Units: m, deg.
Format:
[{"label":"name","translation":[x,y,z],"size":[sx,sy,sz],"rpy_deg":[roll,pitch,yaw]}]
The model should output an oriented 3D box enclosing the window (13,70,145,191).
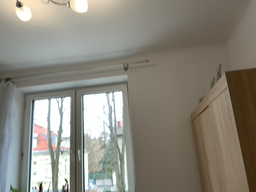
[{"label":"window","translation":[-0.630,0.670,2.640],"size":[1.580,1.840,0.180],"rpy_deg":[-6,-15,9]}]
